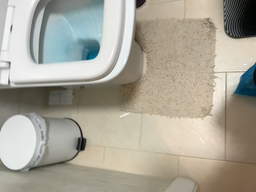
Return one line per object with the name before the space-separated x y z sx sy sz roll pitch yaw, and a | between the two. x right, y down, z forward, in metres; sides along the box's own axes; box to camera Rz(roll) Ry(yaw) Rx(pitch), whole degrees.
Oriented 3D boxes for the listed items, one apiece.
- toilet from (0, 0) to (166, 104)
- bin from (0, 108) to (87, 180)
toilet | -0.290 -0.220 0.680 0.630 0.810 0.400 -2 81 24
bin | -0.370 0.200 0.930 0.240 0.310 0.250 -6 79 21
